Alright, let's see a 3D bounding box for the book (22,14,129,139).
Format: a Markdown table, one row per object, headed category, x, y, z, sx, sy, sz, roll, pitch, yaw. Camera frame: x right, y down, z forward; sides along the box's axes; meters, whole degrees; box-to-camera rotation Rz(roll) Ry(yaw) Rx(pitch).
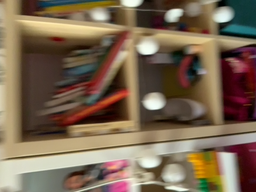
| category | x | y | z | sx | sy | sz | roll | pitch | yaw |
| --- | --- | --- | --- | --- | --- | --- | --- | --- | --- |
| book | -0.260 | -0.070 | 0.940 | 0.570 | 0.330 | 0.360 | -174 | 83 | -67 |
